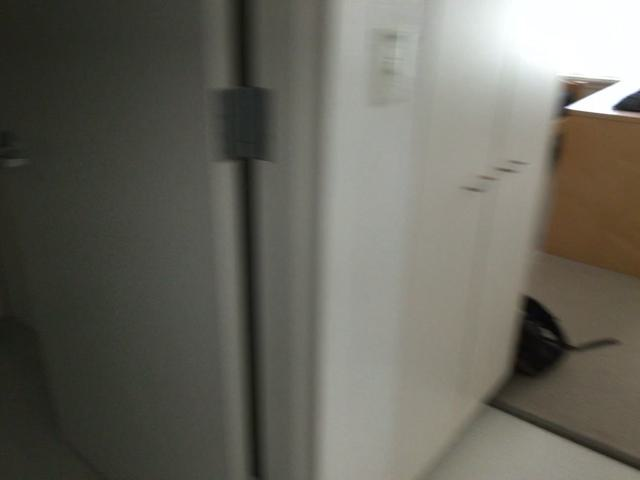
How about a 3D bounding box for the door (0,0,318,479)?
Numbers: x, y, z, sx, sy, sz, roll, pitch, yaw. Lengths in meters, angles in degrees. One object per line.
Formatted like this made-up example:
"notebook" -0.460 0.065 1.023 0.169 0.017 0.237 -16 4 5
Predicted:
"door" -0.470 -0.130 1.200 0.960 1.830 0.180 18 34 37
